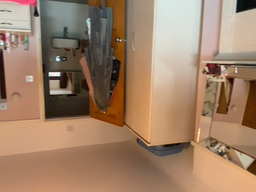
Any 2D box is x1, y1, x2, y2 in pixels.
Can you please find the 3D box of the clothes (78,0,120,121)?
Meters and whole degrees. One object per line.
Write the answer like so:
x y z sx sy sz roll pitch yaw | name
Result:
-0.360 -0.430 2.690 0.350 1.400 0.380 -8 -167 -42 | clothes
